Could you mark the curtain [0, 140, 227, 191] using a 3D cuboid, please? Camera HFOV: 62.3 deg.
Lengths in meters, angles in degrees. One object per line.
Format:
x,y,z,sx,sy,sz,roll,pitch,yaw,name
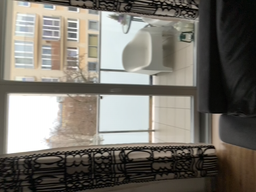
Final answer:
-0.080,0.710,2.190,0.190,2.470,0.350,-171,82,-74,curtain
